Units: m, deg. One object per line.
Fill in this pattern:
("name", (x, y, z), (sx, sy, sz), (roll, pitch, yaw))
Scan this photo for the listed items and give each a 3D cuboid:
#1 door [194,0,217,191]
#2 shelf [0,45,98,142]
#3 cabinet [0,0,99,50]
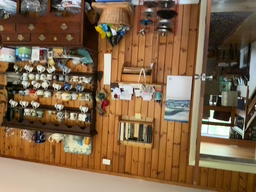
("door", (0.780, -0.220, 2.140), (0.060, 2.070, 0.770), (4, -176, 17))
("shelf", (-1.150, -0.070, 2.940), (1.390, 1.190, 0.310), (4, -176, 12))
("cabinet", (-1.130, -1.020, 2.750), (1.350, 0.720, 0.570), (4, -176, 12))
